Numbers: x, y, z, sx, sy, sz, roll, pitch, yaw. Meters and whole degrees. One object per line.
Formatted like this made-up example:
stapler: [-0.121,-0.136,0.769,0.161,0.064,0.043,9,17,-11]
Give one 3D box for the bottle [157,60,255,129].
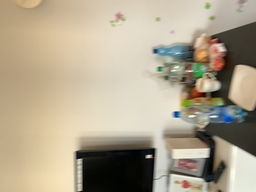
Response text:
bottle: [0.380,-0.040,1.160,0.520,0.290,0.290,-134,45,-78]
